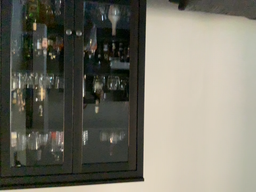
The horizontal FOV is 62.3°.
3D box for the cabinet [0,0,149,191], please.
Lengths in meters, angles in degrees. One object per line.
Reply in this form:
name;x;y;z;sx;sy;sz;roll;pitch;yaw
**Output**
cabinet;-0.350;-0.450;1.420;0.900;1.980;0.370;1;-179;-13
